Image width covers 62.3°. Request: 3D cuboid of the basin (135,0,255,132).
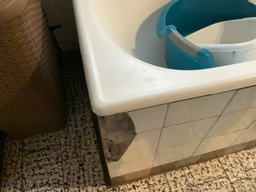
[{"bbox_3d":[0.350,-0.180,0.900,0.530,0.330,0.450,-12,56,-8],"label":"basin"}]
